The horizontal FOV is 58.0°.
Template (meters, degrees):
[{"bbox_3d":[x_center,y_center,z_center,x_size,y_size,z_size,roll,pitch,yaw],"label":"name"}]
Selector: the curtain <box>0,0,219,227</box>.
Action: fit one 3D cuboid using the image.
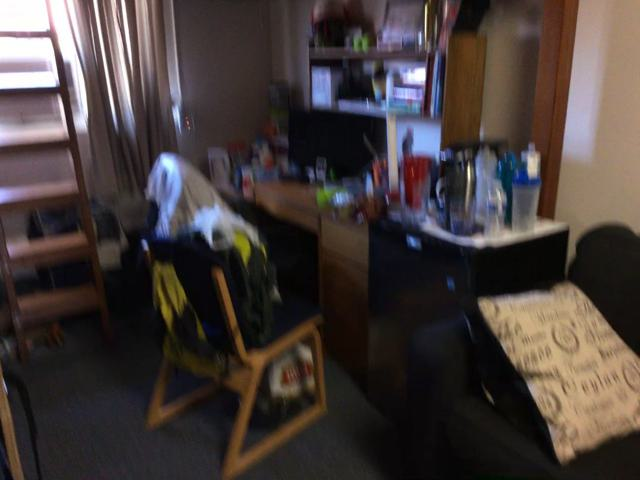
[{"bbox_3d":[-1.630,-0.710,2.870,2.190,1.250,0.300,-12,17,-32],"label":"curtain"}]
